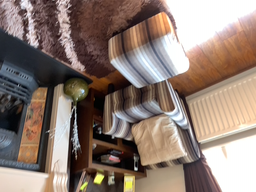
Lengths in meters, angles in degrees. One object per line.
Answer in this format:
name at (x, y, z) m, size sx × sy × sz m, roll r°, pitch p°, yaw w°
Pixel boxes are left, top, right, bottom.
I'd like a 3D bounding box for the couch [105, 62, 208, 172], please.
couch at (0.300, 0.300, 2.380) m, size 0.720 × 0.820 × 0.840 m, roll -23°, pitch 144°, yaw 27°
